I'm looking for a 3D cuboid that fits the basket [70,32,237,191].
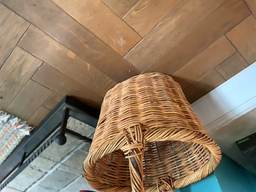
[{"bbox_3d":[0.070,0.090,0.740,0.340,0.360,0.350,-36,127,25],"label":"basket"}]
